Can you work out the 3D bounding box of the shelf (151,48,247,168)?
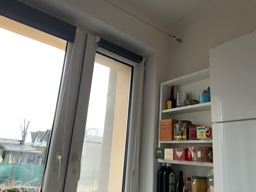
[{"bbox_3d":[0.400,0.100,1.310,0.190,0.600,0.520,16,-19,-33],"label":"shelf"}]
